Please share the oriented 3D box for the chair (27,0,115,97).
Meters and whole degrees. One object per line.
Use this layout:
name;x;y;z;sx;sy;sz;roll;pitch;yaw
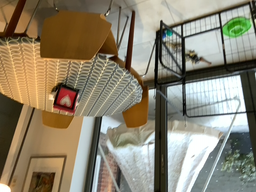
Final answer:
chair;-0.300;-0.480;1.400;0.360;0.850;0.420;6;155;-3
